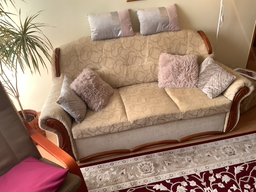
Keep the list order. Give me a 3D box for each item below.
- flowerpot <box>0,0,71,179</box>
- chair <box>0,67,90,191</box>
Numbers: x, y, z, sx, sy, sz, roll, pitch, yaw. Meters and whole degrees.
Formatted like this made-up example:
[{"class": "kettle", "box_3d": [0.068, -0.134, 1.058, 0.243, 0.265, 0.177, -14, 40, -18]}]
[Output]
[{"class": "flowerpot", "box_3d": [-1.310, -0.380, 1.770, 0.990, 1.900, 0.890, 23, 39, 37]}, {"class": "chair", "box_3d": [-0.770, 0.460, 1.310, 0.790, 0.980, 0.630, 20, 37, 34]}]
